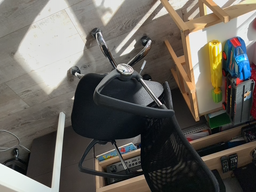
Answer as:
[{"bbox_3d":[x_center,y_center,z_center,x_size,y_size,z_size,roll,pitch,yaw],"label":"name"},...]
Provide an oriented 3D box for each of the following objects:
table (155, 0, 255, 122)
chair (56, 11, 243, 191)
[{"bbox_3d":[0.510,-0.290,1.290,0.480,0.460,0.710,-18,135,6],"label":"table"},{"bbox_3d":[-0.050,0.110,1.180,0.570,0.990,0.630,7,132,-19],"label":"chair"}]
